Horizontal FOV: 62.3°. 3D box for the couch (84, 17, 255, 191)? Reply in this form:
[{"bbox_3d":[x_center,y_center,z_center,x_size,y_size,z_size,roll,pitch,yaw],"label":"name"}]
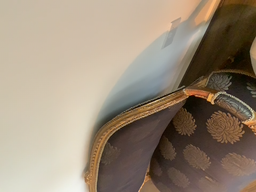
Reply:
[{"bbox_3d":[0.350,0.500,1.520,0.810,1.000,1.620,40,143,21],"label":"couch"}]
